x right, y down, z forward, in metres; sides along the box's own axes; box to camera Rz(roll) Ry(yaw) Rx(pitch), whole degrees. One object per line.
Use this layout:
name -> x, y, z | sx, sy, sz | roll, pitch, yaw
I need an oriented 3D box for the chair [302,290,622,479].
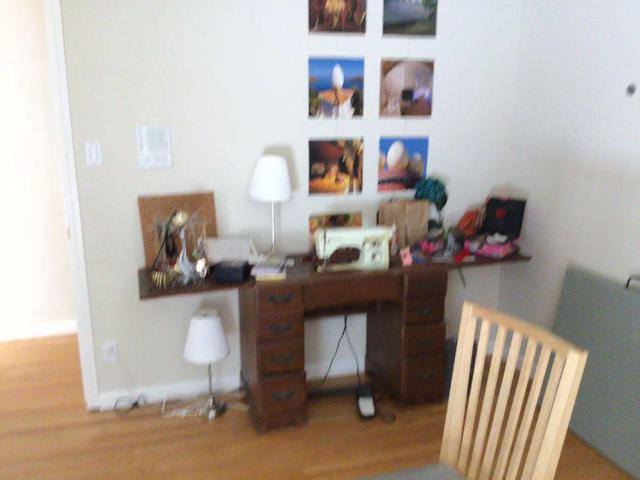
chair -> 0.340, 0.690, 1.590 | 0.630, 0.940, 0.500 | -5, 13, -25
